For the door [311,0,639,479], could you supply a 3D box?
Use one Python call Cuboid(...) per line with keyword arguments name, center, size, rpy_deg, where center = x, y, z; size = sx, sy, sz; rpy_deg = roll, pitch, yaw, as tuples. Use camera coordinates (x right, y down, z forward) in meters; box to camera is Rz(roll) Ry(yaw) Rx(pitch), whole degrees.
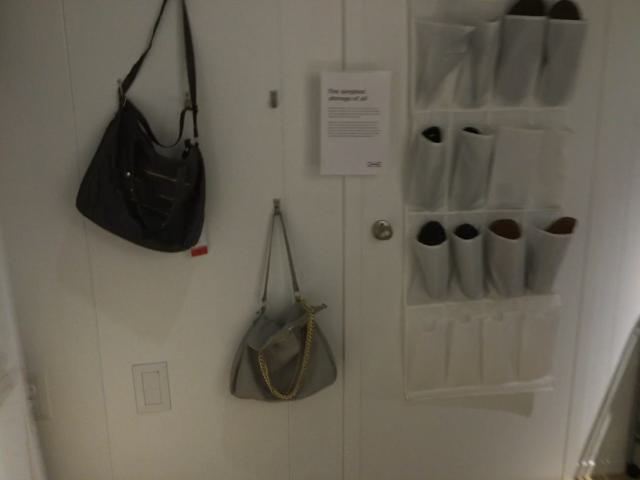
Cuboid(name="door", center=(0.540, -0.050, 1.890), size=(1.050, 2.000, 0.160), rpy_deg=(-5, 11, -10))
